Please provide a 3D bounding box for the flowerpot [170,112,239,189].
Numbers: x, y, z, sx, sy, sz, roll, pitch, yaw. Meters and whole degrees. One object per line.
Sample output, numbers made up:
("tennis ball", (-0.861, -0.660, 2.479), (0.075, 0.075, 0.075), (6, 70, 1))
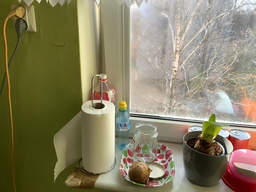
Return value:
("flowerpot", (0.250, 0.180, 0.750), (0.180, 0.170, 0.180), (5, 21, 9))
